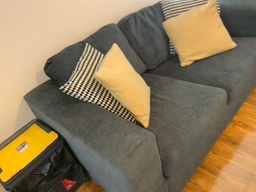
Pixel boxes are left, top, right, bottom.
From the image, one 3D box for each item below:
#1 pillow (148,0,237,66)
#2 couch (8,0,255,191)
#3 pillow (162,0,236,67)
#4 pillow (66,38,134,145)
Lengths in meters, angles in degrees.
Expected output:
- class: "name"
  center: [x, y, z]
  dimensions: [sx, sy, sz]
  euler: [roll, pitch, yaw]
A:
- class: "pillow"
  center: [0.510, -0.580, 1.770]
  dimensions: [0.560, 0.520, 0.180]
  euler: [14, 11, -3]
- class: "couch"
  center: [0.290, -0.170, 1.630]
  dimensions: [1.000, 0.780, 1.750]
  euler: [23, 52, 40]
- class: "pillow"
  center: [0.550, -0.480, 1.670]
  dimensions: [0.450, 0.420, 0.190]
  euler: [9, 8, -17]
- class: "pillow"
  center: [-0.150, -0.070, 1.330]
  dimensions: [0.230, 0.500, 0.520]
  euler: [14, 19, 1]
